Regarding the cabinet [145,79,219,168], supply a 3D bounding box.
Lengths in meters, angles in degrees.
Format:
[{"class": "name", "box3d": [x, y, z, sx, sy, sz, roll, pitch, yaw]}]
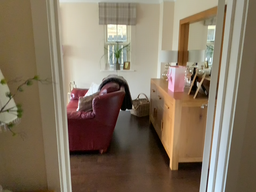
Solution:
[{"class": "cabinet", "box3d": [0.670, 0.260, 3.240, 0.520, 0.790, 1.660, -1, 14, -6]}]

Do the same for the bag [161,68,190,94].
[{"class": "bag", "box3d": [0.610, -0.200, 2.750, 0.270, 0.290, 0.280, -2, 14, -9]}]

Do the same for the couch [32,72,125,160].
[{"class": "couch", "box3d": [-0.640, 0.170, 3.420, 1.080, 0.910, 1.640, -1, 14, -4]}]
